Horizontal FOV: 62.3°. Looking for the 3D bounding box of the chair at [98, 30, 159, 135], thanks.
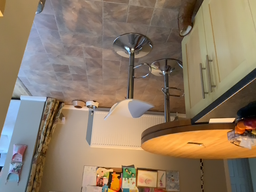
[{"bbox_3d":[0.010,-0.110,1.940,0.400,0.810,0.380,12,155,-19],"label":"chair"}]
